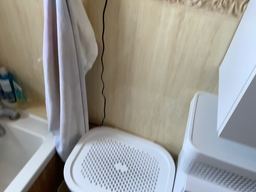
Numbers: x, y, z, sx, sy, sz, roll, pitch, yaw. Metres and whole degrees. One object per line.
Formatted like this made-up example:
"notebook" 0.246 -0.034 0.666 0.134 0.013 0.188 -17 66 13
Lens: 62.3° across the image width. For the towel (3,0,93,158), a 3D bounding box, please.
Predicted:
"towel" -0.260 -0.100 0.800 0.200 0.840 0.160 18 42 11
